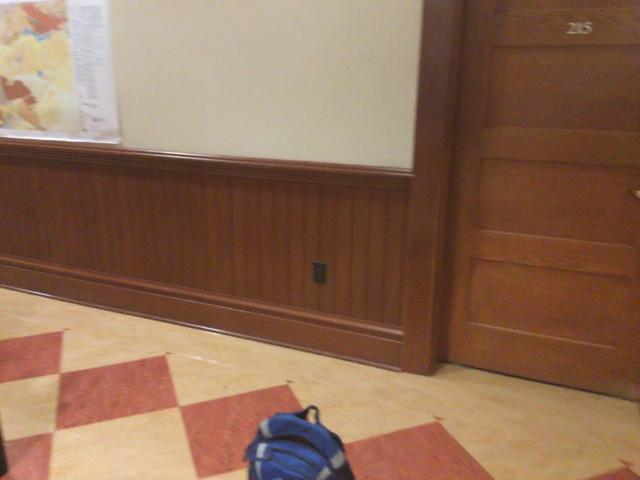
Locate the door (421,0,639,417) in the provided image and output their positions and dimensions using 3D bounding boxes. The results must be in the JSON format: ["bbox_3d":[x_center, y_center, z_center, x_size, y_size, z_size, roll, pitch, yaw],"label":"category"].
[{"bbox_3d":[0.900,-0.380,2.340,0.870,2.100,0.300,6,17,24],"label":"door"}]

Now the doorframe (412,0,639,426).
[{"bbox_3d":[0.900,-0.420,2.260,0.970,2.200,0.330,6,17,24],"label":"doorframe"}]
